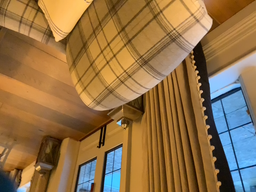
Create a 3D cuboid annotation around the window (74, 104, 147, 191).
[{"bbox_3d":[-0.280,1.190,2.400,0.090,2.040,1.250,31,135,-32],"label":"window"}]
